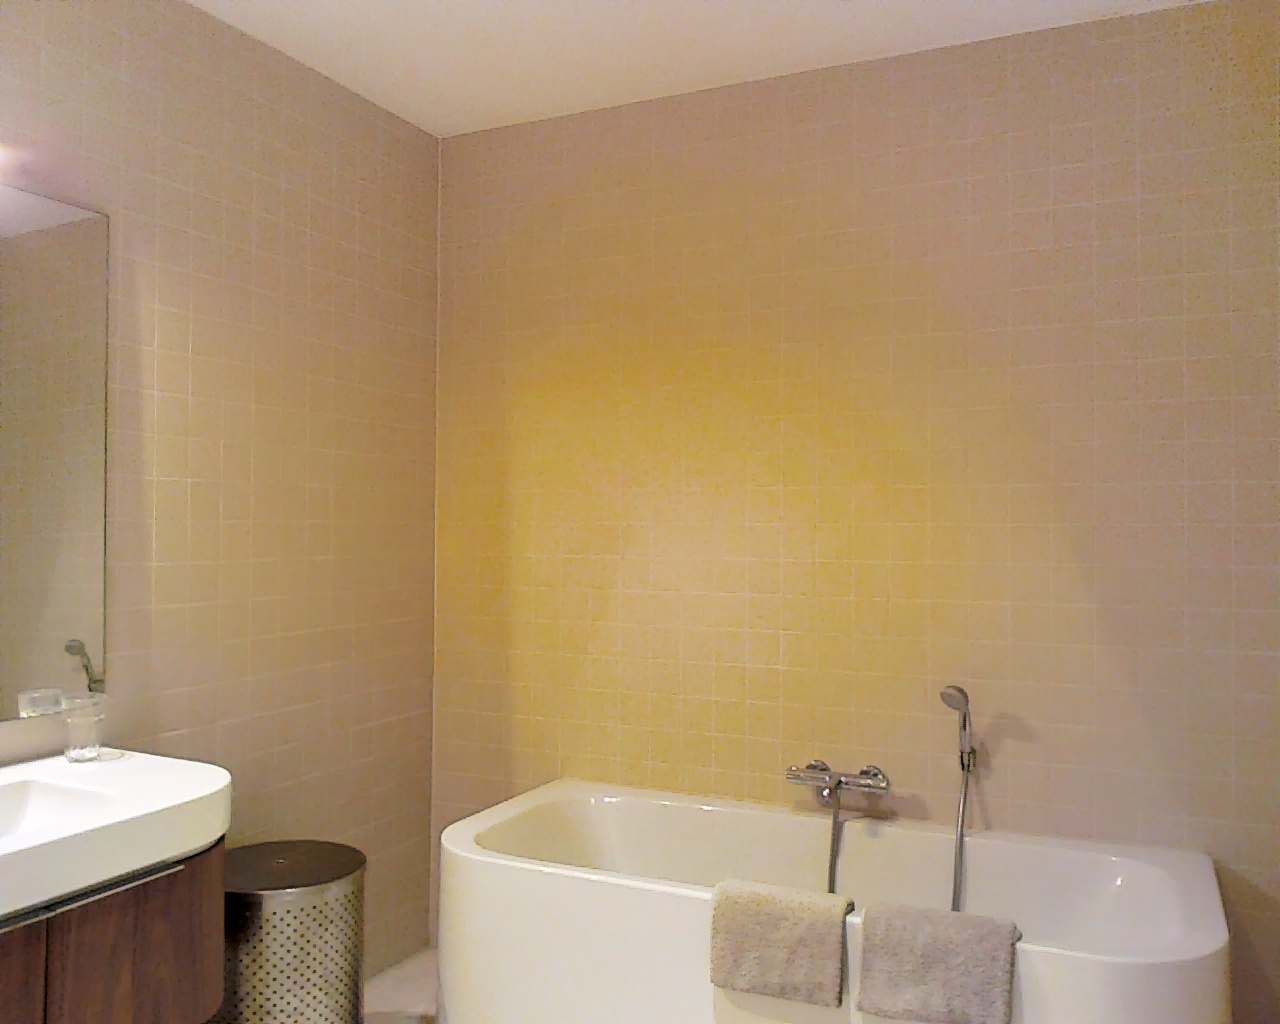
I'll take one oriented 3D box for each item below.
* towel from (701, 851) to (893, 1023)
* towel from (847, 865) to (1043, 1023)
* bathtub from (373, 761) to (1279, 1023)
[{"bbox_3d":[0.340,0.900,2.310,0.350,0.230,0.250,0,-1,25],"label":"towel"},{"bbox_3d":[0.620,0.890,2.170,0.340,0.230,0.270,0,-1,25],"label":"towel"},{"bbox_3d":[0.400,1.100,2.610,1.930,0.630,0.850,0,-1,25],"label":"bathtub"}]
